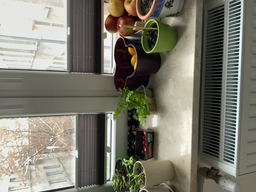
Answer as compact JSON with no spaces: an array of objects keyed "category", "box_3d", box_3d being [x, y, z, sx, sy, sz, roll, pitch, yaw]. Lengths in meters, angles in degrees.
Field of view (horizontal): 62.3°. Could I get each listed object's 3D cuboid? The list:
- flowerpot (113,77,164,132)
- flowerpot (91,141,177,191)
[{"category":"flowerpot","box_3d":[0.040,0.030,0.960,0.190,0.140,0.210,18,106,63]},{"category":"flowerpot","box_3d":[0.010,0.410,0.950,0.280,0.280,0.320,9,98,63]}]
